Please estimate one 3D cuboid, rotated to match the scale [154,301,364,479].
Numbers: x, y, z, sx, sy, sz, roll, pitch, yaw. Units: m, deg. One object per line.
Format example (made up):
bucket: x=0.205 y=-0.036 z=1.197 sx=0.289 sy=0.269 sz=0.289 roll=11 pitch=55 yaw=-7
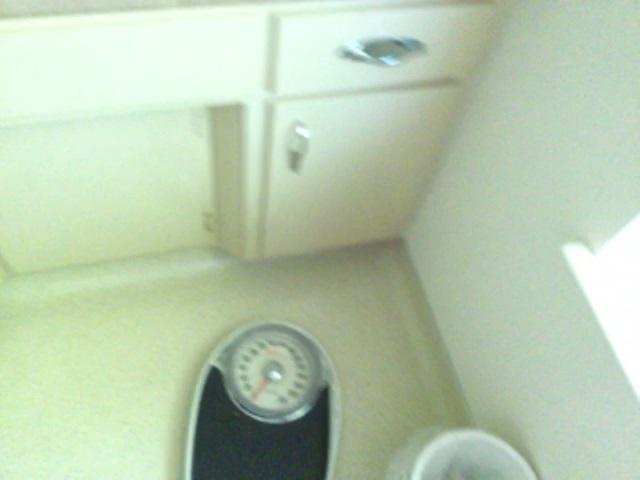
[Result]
scale: x=-0.110 y=0.370 z=1.100 sx=0.340 sy=0.070 sz=0.470 roll=10 pitch=57 yaw=-2
